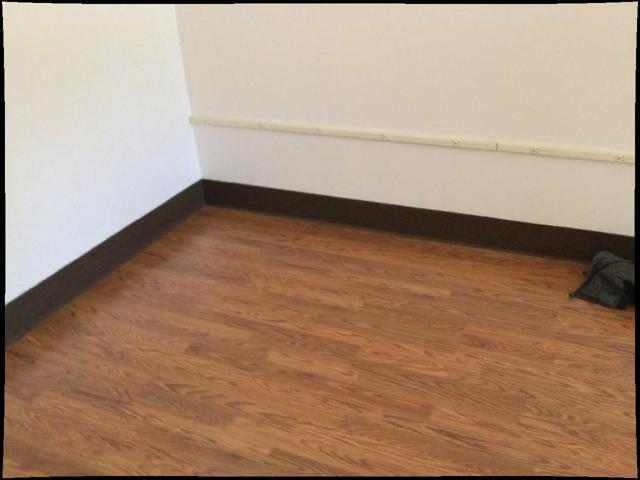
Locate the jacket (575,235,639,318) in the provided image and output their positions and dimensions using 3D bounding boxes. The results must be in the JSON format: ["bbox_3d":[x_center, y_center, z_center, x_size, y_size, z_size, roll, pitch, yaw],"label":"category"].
[{"bbox_3d":[1.259,0.160,2.100,0.580,0.120,0.330,11,32,21],"label":"jacket"}]
